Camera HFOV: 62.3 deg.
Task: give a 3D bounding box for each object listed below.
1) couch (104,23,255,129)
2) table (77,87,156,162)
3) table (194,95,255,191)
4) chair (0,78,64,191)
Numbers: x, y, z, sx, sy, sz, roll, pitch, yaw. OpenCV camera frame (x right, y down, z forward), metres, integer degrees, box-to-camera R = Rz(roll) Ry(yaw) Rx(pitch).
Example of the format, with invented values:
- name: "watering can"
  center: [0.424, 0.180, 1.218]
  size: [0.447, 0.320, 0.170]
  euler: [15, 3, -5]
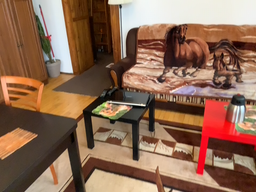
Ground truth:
- name: "couch"
  center: [0.900, -0.380, 2.800]
  size: [2.160, 0.980, 0.960]
  euler: [9, 28, 22]
- name: "table"
  center: [-0.080, 0.250, 2.190]
  size: [0.580, 0.440, 0.580]
  euler: [9, 28, 22]
- name: "table"
  center: [0.930, 0.370, 1.860]
  size: [0.550, 0.450, 0.680]
  euler: [9, 28, 22]
- name: "chair"
  center: [-0.820, 0.380, 1.490]
  size: [0.400, 0.870, 0.430]
  euler: [10, 28, 24]
